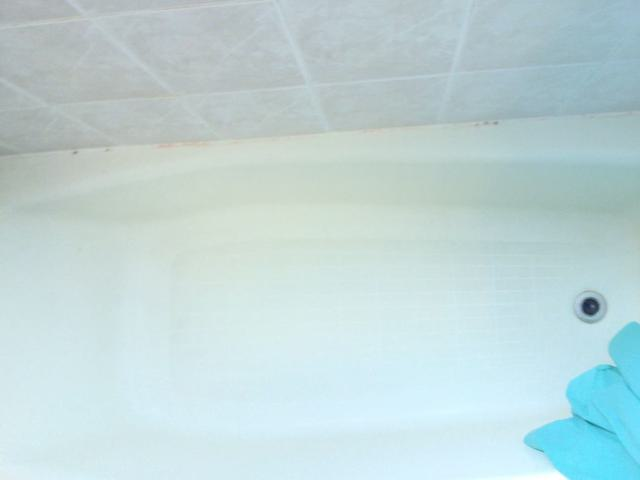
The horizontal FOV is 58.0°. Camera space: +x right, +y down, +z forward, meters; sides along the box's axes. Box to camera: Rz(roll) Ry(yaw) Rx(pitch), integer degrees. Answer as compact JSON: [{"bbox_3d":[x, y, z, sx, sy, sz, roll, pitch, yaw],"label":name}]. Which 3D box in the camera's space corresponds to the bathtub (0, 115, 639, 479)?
[{"bbox_3d":[0.040,0.200,1.180,1.450,0.750,0.360,-2,-6,6],"label":"bathtub"}]
